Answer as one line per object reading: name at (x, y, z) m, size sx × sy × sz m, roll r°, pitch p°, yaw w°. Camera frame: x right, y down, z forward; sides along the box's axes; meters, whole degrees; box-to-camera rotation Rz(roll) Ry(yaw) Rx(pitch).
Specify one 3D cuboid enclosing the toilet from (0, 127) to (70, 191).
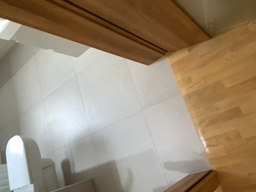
toilet at (-0.890, 0.620, 2.000) m, size 0.340 × 0.440 × 0.550 m, roll -27°, pitch 72°, yaw 31°
